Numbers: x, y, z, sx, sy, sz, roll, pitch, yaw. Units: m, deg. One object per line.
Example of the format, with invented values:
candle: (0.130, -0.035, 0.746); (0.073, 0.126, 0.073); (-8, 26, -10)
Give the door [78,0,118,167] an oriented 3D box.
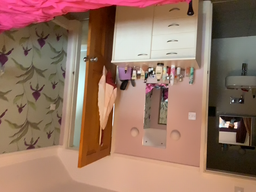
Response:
door: (-0.330, -0.210, 2.600); (0.040, 1.950, 0.750); (2, 176, 17)
